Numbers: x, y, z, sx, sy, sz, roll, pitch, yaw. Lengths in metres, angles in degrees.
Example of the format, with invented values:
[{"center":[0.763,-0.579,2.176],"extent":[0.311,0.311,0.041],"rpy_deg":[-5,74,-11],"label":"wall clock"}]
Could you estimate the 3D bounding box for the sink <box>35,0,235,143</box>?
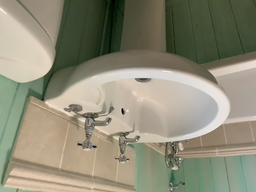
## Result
[{"center":[0.080,-0.010,0.730],"extent":[0.460,0.180,0.540],"rpy_deg":[-11,150,26],"label":"sink"}]
